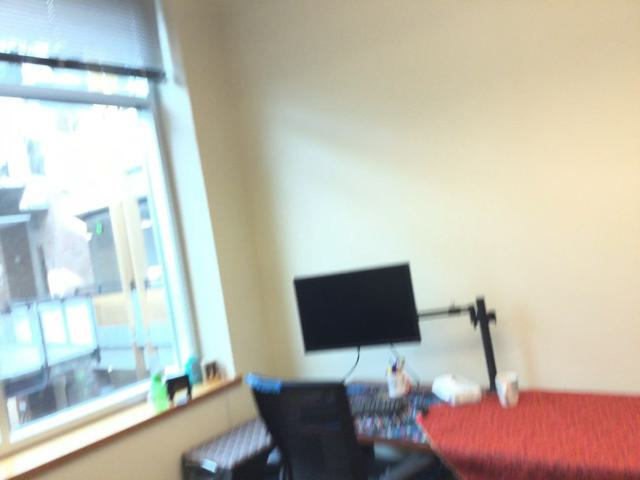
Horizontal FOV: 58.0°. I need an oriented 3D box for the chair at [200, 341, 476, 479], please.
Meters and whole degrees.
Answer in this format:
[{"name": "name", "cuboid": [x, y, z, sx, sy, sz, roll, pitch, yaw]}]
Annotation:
[{"name": "chair", "cuboid": [0.120, 0.960, 2.160, 0.700, 1.000, 0.670, -9, 0, 37]}]
